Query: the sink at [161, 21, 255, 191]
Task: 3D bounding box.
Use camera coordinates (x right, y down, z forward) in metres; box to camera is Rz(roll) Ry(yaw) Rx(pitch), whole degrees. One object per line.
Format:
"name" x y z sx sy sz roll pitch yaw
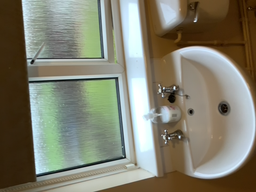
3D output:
"sink" 0.350 0.060 0.860 0.420 0.180 0.560 171 94 -67
